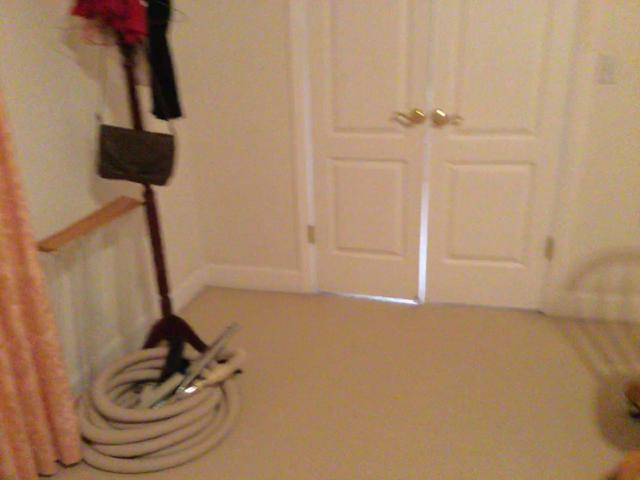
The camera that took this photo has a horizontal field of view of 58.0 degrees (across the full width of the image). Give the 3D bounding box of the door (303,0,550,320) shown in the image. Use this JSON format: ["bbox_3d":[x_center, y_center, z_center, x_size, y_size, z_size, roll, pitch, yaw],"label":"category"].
[{"bbox_3d":[0.440,-0.560,2.460,0.960,1.890,0.110,1,20,17],"label":"door"}]
